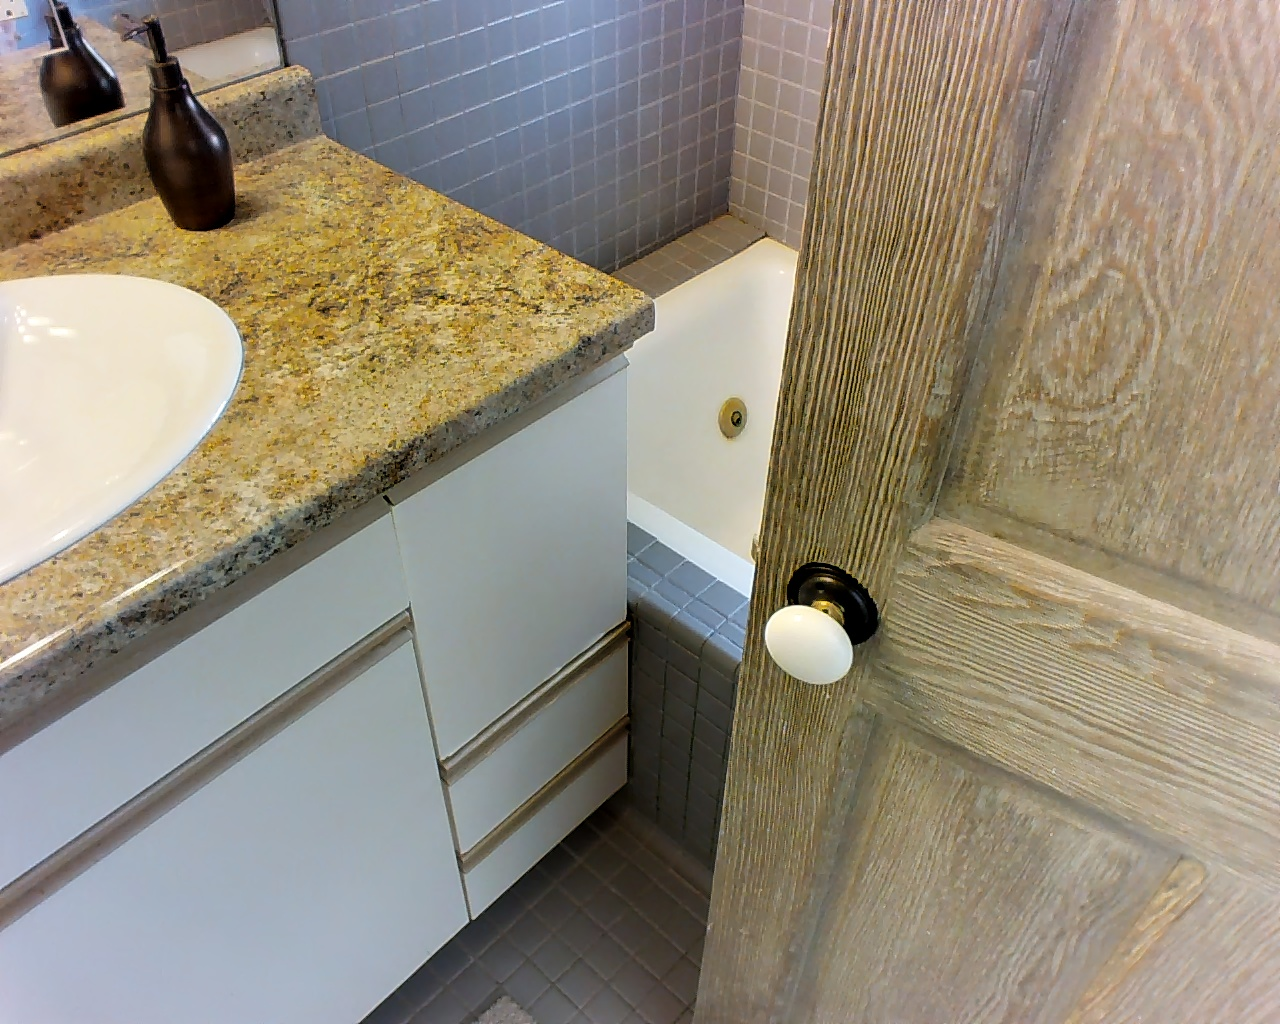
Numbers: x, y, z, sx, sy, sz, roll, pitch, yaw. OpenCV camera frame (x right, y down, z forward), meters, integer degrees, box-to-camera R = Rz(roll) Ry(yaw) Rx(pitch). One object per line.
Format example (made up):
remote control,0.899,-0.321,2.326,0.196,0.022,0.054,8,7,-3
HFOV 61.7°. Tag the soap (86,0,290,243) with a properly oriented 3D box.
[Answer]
soap,-0.450,-0.400,1.080,0.130,0.200,0.090,32,51,29
